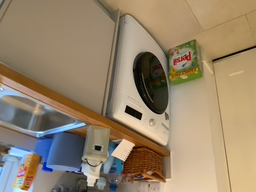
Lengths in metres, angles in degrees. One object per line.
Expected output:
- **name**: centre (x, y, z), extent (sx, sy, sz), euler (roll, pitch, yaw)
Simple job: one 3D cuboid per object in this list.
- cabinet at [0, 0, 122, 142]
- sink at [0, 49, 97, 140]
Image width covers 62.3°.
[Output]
- **cabinet**: centre (-0.510, -0.290, 1.290), extent (0.590, 0.910, 0.660), euler (-17, 145, 34)
- **sink**: centre (-0.540, 0.050, 1.150), extent (0.540, 0.190, 0.470), euler (-17, 145, 34)
